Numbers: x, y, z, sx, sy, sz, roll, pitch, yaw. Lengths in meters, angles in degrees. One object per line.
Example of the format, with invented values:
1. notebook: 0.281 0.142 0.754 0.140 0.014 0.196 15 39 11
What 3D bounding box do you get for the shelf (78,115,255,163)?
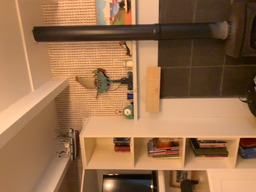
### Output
1. shelf: 0.550 0.390 2.030 0.460 1.940 0.240 -84 -7 -69
